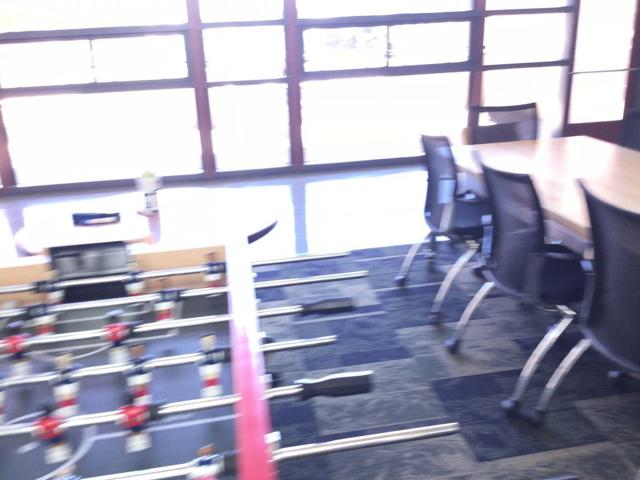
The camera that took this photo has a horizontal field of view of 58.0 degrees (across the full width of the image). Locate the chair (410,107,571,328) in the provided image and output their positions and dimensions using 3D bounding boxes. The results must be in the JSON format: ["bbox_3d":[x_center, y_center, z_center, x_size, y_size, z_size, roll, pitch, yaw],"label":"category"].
[{"bbox_3d":[0.830,-0.140,2.940,0.560,0.930,0.580,-8,21,-5],"label":"chair"}]

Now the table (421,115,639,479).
[{"bbox_3d":[1.310,0.120,2.340,1.080,0.780,2.500,-8,21,-5],"label":"table"}]

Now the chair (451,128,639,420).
[{"bbox_3d":[0.900,0.100,2.260,0.590,0.920,0.570,-8,21,-5],"label":"chair"}]
